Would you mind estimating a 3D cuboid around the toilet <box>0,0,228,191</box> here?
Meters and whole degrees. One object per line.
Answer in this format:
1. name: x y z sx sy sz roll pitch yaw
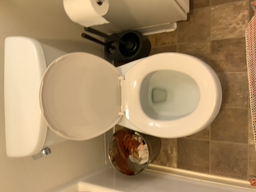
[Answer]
1. toilet: 0.020 0.000 0.970 0.720 0.780 0.480 -1 90 30
